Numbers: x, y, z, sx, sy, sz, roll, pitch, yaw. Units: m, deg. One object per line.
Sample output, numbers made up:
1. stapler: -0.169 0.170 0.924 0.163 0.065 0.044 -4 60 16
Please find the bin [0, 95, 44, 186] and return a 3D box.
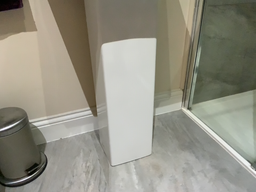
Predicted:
1. bin: -0.520 0.190 0.920 0.240 0.270 0.240 -9 32 -15
